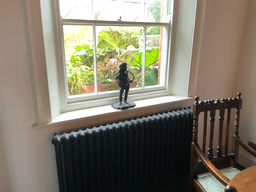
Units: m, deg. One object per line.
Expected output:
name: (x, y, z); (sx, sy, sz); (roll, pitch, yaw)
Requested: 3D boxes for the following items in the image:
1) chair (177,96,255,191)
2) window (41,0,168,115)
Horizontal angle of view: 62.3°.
chair: (0.690, 0.560, 1.530); (0.450, 1.000, 0.490); (-2, 18, -10)
window: (-0.150, -0.620, 2.050); (1.240, 1.450, 0.100); (-9, 20, -28)
